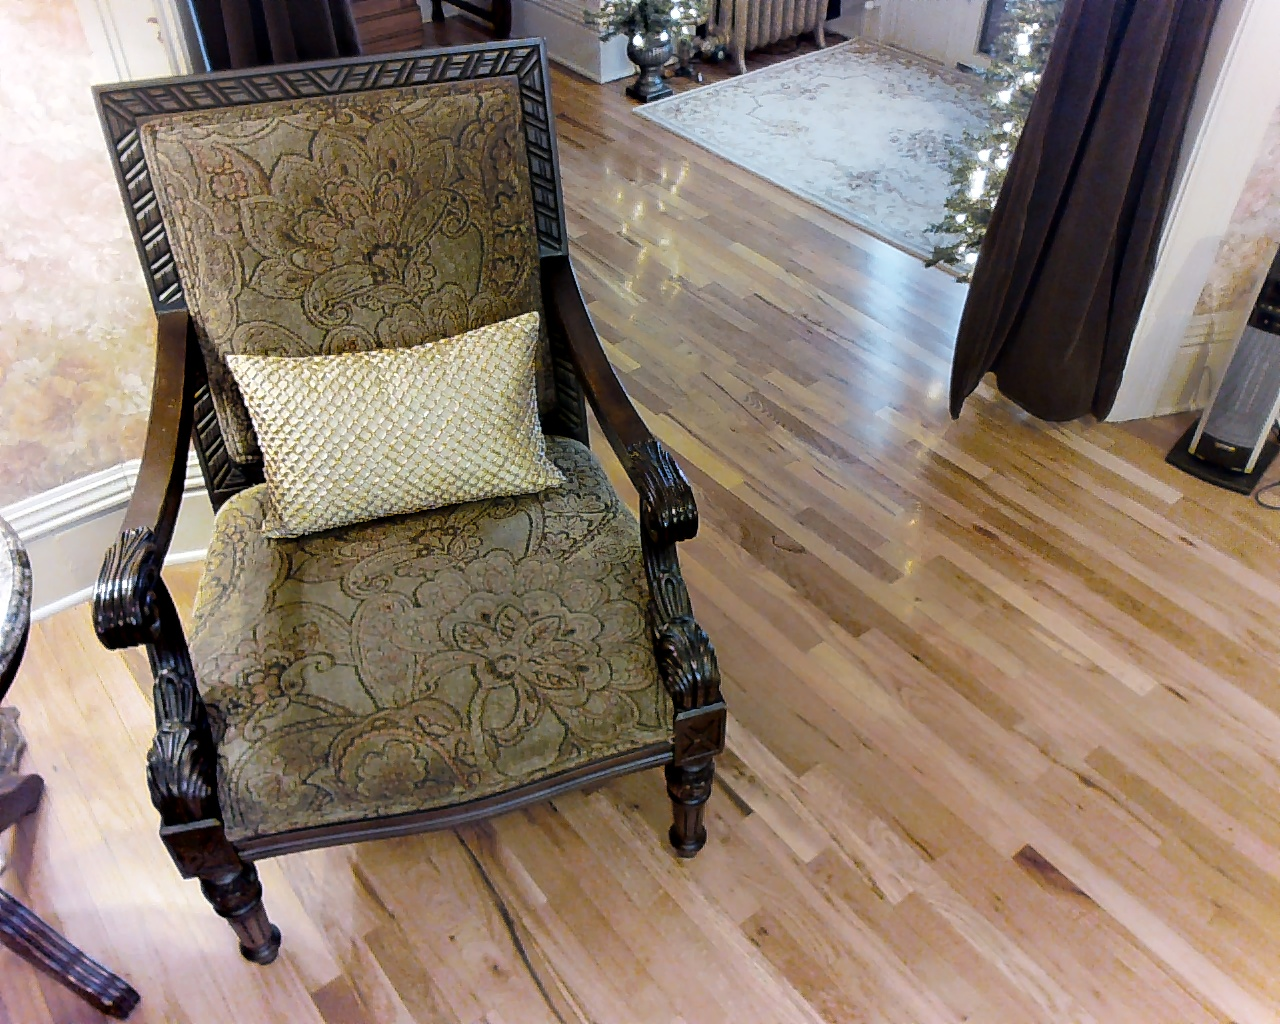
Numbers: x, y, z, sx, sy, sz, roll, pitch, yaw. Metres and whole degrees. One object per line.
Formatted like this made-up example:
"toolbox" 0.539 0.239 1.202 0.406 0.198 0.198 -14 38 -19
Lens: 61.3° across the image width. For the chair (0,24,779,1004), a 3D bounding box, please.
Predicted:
"chair" -0.330 -0.010 1.590 0.710 1.030 0.860 -10 44 -12
